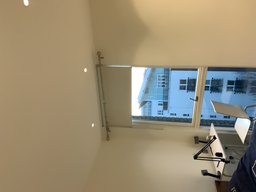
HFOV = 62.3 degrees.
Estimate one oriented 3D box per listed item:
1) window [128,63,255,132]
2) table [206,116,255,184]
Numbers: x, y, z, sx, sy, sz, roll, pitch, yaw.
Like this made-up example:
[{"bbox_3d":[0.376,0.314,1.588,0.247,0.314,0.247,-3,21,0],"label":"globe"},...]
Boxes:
[{"bbox_3d":[1.090,0.030,3.490,0.200,2.130,1.080,-73,-17,-61],"label":"window"},{"bbox_3d":[1.630,0.740,3.060,0.840,0.750,0.490,-72,-18,-62],"label":"table"}]
